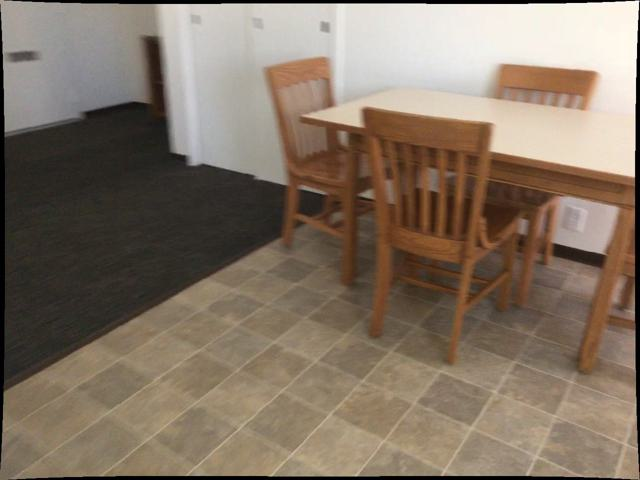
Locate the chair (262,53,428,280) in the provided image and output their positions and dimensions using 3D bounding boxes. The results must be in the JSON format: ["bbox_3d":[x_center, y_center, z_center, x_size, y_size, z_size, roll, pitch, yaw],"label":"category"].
[{"bbox_3d":[0.120,-0.371,2.710,0.539,0.871,0.520,15,30,28],"label":"chair"}]

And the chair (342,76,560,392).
[{"bbox_3d":[0.469,-0.070,2.120,0.509,0.901,0.640,15,30,28],"label":"chair"}]

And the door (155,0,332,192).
[{"bbox_3d":[-0.479,-1.292,3.350,1.219,1.893,0.090,15,30,28],"label":"door"}]

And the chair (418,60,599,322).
[{"bbox_3d":[0.809,-0.250,2.500,0.479,0.901,0.650,15,30,28],"label":"chair"}]
